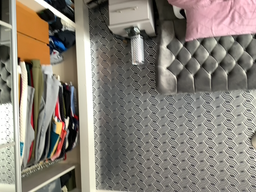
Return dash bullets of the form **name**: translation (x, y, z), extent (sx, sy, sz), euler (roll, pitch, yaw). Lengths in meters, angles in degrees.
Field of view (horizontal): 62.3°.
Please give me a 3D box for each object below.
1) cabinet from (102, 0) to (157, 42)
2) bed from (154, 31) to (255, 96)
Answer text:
- **cabinet**: translation (0.030, -0.930, 2.070), extent (0.430, 0.640, 0.450), euler (-3, 178, 15)
- **bed**: translation (1.180, -0.300, 1.840), extent (1.860, 0.500, 0.180), euler (-3, 178, 16)
